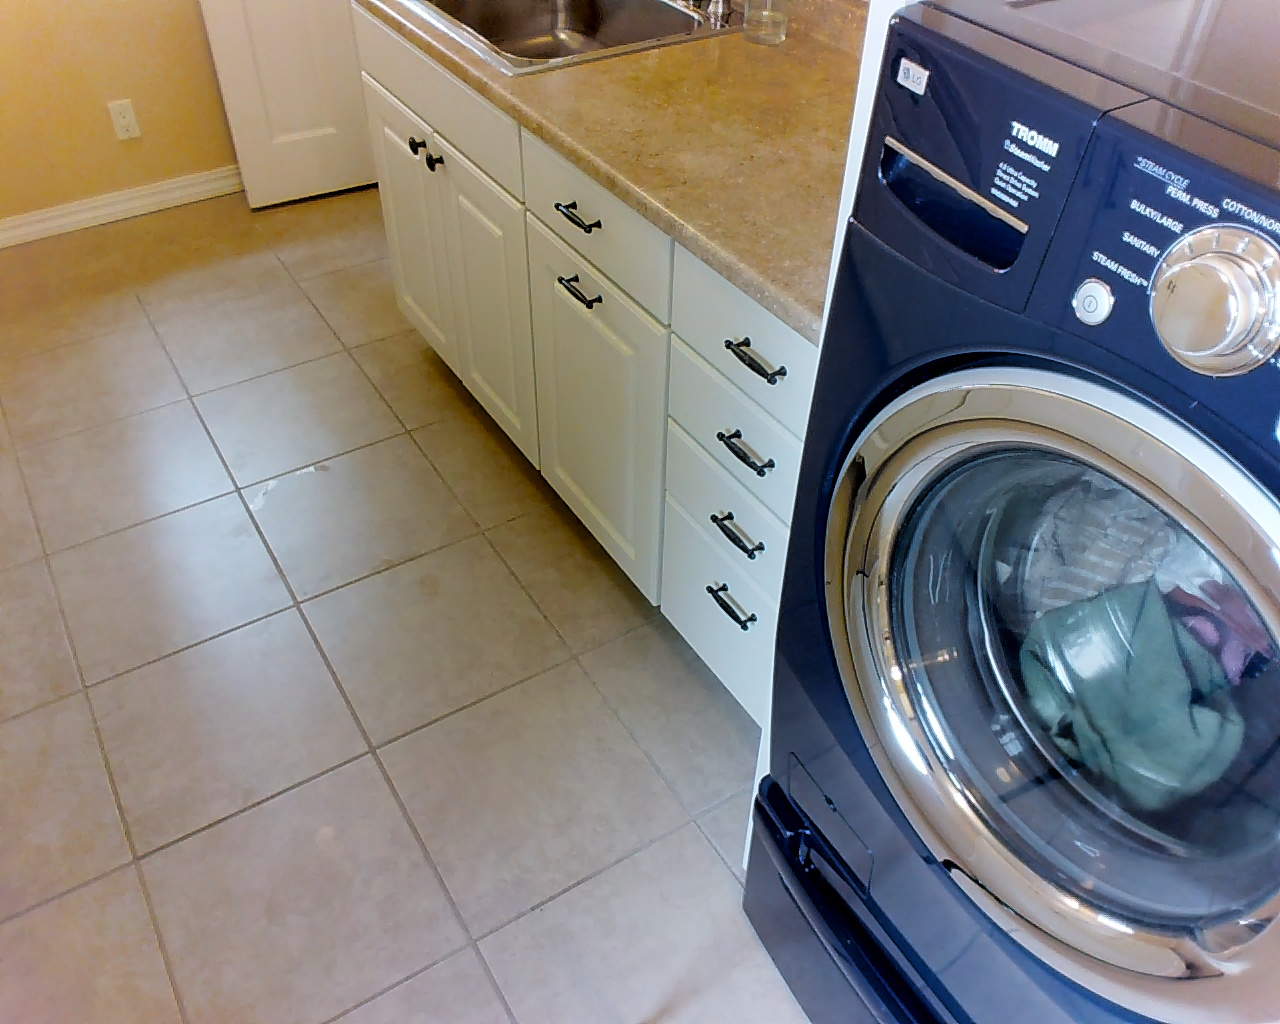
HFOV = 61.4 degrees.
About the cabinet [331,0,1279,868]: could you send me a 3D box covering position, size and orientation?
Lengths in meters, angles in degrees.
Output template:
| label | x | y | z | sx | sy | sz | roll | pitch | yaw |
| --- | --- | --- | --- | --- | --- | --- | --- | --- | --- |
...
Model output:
| label | x | y | z | sx | sy | sz | roll | pitch | yaw |
| --- | --- | --- | --- | --- | --- | --- | --- | --- | --- |
| cabinet | 0.090 | -0.390 | 2.100 | 0.660 | 0.980 | 1.720 | -23 | 47 | -23 |
